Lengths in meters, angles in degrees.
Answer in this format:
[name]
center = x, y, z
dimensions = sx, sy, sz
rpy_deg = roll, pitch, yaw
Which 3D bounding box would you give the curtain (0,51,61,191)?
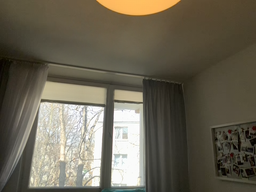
[curtain]
center = -1.140, 0.260, 1.790
dimensions = 0.960, 1.330, 0.140
rpy_deg = 6, -16, -17

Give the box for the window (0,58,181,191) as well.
[window]
center = -0.510, 0.420, 2.210
dimensions = 2.240, 1.400, 0.240
rpy_deg = 6, -16, -18
